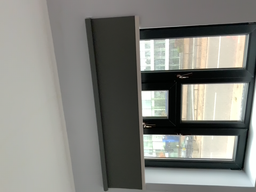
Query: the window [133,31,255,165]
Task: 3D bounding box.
[{"bbox_3d":[0.620,0.080,2.070,0.090,1.080,1.320,-71,-20,-68],"label":"window"}]
